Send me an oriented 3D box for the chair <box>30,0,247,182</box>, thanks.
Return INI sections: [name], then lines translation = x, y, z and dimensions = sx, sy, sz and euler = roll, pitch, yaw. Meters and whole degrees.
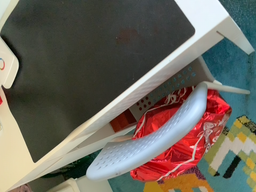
[chair]
translation = 0.130, -0.090, 0.820
dimensions = 0.340, 0.750, 0.450
euler = -36, 76, 31
